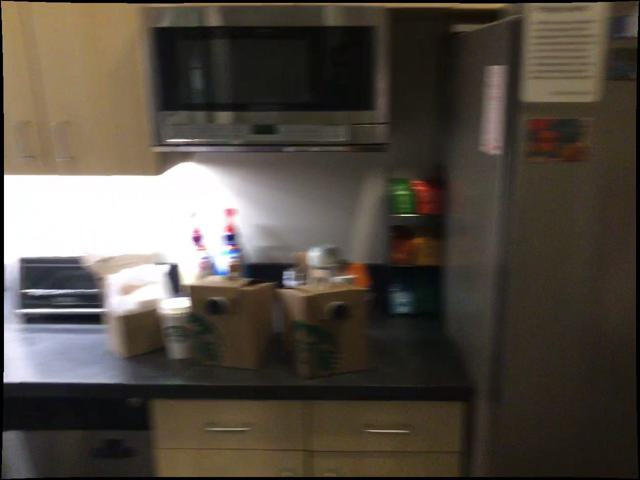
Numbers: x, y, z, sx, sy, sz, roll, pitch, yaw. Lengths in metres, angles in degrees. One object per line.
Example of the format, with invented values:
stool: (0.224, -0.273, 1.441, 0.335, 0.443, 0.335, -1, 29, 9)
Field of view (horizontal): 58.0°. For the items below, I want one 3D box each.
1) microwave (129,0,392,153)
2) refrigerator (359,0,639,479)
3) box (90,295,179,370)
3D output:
microwave: (-0.130, -0.461, 1.590, 0.619, 0.371, 0.390, -1, 16, 3)
refrigerator: (0.688, 0.281, 1.500, 1.117, 1.754, 0.870, -1, 16, 3)
box: (-0.489, 0.241, 1.530, 0.190, 0.120, 0.100, -14, 20, -36)
